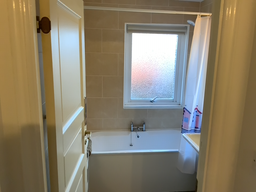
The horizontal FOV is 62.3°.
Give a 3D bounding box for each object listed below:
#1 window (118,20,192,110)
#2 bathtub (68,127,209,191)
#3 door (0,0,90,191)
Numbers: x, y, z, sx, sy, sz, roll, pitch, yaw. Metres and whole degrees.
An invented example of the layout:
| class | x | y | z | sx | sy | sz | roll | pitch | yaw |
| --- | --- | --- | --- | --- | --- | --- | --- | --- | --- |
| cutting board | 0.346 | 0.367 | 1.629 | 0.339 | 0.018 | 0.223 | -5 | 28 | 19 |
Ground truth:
| class | x | y | z | sx | sy | sz | roll | pitch | yaw |
| --- | --- | --- | --- | --- | --- | --- | --- | --- | --- |
| window | 0.370 | -0.440 | 3.180 | 1.010 | 1.270 | 0.280 | 0 | 12 | -6 |
| bathtub | 0.110 | 0.820 | 2.900 | 1.670 | 0.540 | 0.720 | 0 | 12 | -6 |
| door | -0.410 | 0.380 | 1.210 | 0.200 | 2.210 | 1.070 | 1 | 12 | -1 |
